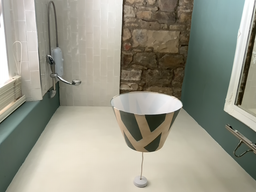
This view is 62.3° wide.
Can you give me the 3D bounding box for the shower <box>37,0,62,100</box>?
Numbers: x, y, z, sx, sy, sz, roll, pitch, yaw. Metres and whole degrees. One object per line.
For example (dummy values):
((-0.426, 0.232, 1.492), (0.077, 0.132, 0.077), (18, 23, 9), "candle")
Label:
((-0.740, -0.470, 2.040), (0.070, 0.920, 0.420), (2, -162, -5), "shower")
